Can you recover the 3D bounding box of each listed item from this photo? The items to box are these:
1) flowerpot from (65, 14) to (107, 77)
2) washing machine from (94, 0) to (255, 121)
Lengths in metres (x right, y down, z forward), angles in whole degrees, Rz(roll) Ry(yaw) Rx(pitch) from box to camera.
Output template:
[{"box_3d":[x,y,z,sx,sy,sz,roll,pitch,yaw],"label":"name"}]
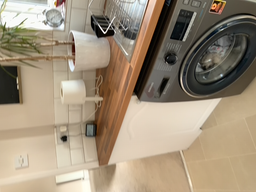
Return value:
[{"box_3d":[-0.290,-0.330,1.390,0.290,0.170,0.300,58,142,44],"label":"flowerpot"},{"box_3d":[0.380,-0.380,1.350,0.720,0.930,0.660,62,145,40],"label":"washing machine"}]
